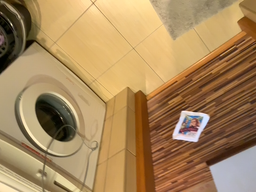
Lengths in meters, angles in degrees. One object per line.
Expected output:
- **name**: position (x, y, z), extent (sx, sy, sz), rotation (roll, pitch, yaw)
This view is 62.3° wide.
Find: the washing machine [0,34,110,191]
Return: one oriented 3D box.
- **washing machine**: position (-0.560, 0.230, 1.150), extent (0.610, 0.830, 0.610), rotation (-35, 118, 23)
